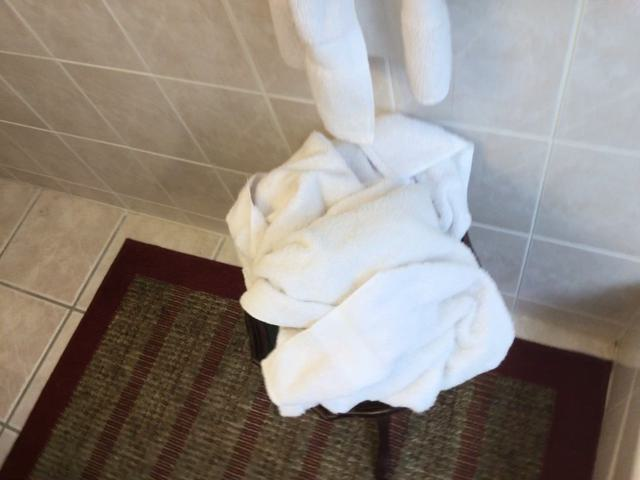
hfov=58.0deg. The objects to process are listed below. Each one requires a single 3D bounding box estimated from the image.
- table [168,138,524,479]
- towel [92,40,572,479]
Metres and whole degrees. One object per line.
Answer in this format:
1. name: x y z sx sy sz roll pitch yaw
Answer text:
1. table: 0.090 0.170 0.940 0.340 0.550 0.350 14 67 20
2. towel: 0.050 0.040 0.730 0.380 0.330 0.400 14 67 20
